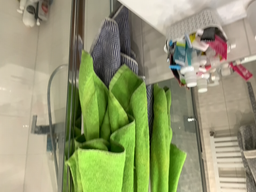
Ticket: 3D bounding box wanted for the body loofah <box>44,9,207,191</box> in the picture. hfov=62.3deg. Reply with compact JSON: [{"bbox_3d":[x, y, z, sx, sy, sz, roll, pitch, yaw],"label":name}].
[{"bbox_3d":[0.030,0.380,0.890,0.370,1.200,0.610,-14,160,38],"label":"body loofah"}]
